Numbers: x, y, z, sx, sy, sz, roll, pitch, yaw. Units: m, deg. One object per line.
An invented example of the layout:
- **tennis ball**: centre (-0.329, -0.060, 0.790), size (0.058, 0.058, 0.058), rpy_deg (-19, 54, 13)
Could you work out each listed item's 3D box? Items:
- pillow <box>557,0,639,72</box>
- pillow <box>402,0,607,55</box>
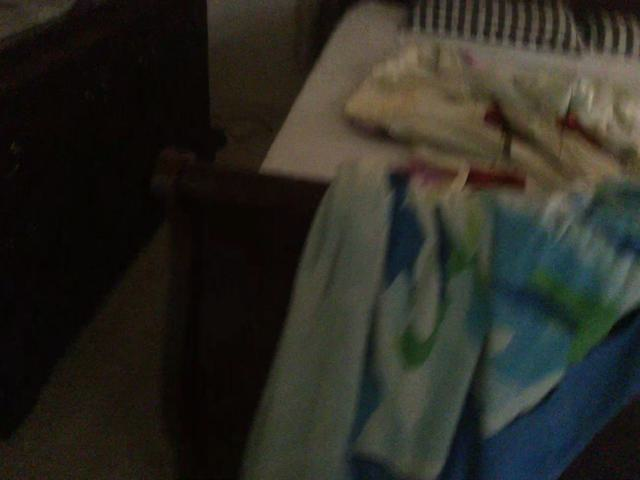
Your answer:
- **pillow**: centre (1.300, -0.780, 2.240), size (0.630, 0.140, 0.450), rpy_deg (9, 34, 6)
- **pillow**: centre (0.690, -0.880, 2.260), size (0.700, 0.110, 0.440), rpy_deg (9, 34, 6)
